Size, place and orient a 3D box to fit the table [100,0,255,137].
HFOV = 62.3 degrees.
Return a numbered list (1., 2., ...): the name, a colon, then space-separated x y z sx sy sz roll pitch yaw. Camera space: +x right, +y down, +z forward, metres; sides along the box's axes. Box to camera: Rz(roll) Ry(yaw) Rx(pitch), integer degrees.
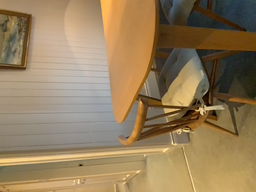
1. table: 0.260 -0.830 1.590 0.990 0.740 1.990 116 150 -56
